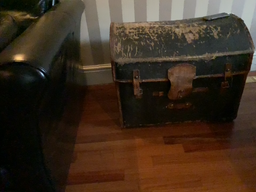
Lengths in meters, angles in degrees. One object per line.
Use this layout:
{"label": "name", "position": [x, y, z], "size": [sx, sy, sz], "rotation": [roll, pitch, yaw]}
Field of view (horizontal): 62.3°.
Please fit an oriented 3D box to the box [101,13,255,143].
{"label": "box", "position": [0.250, -0.160, 1.430], "size": [0.770, 0.560, 0.660], "rotation": [-5, 35, -2]}
